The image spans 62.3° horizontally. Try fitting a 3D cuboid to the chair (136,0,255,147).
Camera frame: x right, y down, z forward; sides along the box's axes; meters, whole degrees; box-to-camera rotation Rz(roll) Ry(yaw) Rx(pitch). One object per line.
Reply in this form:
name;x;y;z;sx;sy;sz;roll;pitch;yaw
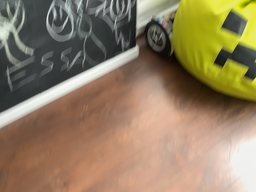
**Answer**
chair;0.700;-0.450;1.200;0.900;0.750;0.930;-30;65;-17
